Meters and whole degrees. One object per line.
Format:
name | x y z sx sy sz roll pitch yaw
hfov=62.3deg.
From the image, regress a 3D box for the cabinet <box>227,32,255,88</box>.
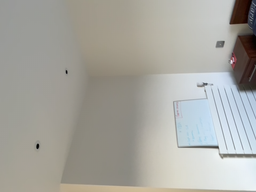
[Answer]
cabinet | 1.590 -0.400 2.330 0.430 0.750 0.440 81 -169 -49
